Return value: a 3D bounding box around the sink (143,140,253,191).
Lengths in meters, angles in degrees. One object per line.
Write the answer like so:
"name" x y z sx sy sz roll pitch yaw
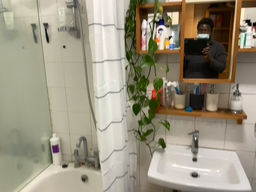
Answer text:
"sink" 0.420 0.480 1.360 0.560 0.140 0.460 3 15 16
